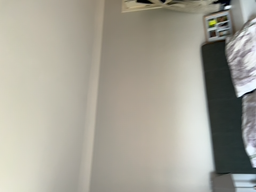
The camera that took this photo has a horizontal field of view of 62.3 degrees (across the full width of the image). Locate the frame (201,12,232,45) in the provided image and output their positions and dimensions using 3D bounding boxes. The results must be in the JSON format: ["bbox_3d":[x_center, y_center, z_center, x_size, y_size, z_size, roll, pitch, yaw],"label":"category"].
[{"bbox_3d":[1.110,-0.850,2.670,0.140,0.320,0.370,56,-136,-69],"label":"frame"}]
